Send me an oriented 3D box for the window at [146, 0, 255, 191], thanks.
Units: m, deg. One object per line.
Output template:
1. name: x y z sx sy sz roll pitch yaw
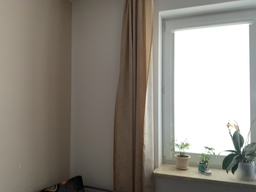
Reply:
1. window: 1.100 -0.020 1.700 1.890 1.680 0.290 0 -2 21

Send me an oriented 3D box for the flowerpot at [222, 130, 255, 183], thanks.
1. flowerpot: 0.910 0.480 1.740 0.240 0.370 0.180 0 -2 23
